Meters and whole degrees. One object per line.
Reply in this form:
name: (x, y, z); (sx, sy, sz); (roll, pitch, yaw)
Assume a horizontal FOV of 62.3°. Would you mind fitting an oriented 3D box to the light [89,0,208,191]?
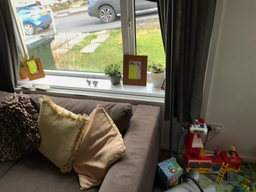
light: (0.180, -0.070, 1.480); (0.540, 1.750, 0.580); (9, 32, 18)
